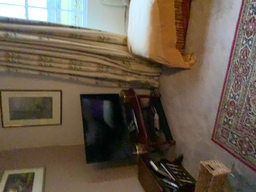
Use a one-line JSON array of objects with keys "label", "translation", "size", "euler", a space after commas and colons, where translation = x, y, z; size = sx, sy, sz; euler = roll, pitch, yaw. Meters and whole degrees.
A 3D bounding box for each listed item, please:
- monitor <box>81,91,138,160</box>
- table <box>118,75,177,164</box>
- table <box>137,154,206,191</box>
[{"label": "monitor", "translation": [-0.250, 0.320, 2.650], "size": [0.070, 0.580, 0.880], "euler": [117, 146, -53]}, {"label": "table", "translation": [0.210, 0.310, 2.850], "size": [0.560, 0.420, 1.020], "euler": [121, 143, -56]}, {"label": "table", "translation": [0.420, 0.850, 2.190], "size": [0.530, 0.470, 0.220], "euler": [-144, 56, -66]}]
